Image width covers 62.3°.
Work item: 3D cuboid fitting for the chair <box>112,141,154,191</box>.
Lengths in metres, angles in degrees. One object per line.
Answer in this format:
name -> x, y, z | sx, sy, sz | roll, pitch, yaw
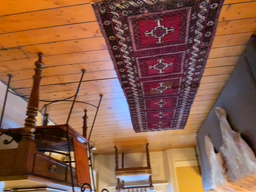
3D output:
chair -> 0.100, 1.340, 3.530 | 0.590, 0.990, 0.640 | -6, 153, 4
